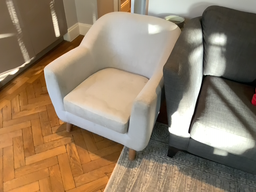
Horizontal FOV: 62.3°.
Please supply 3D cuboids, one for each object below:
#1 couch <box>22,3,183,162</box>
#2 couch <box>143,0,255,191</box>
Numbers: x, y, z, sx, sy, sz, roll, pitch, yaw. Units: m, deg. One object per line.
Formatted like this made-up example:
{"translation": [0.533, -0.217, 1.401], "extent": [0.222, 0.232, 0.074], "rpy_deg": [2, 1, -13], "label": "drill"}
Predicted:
{"translation": [-0.100, -0.160, 1.620], "extent": [0.750, 0.720, 0.830], "rpy_deg": [15, 43, 15], "label": "couch"}
{"translation": [1.300, 0.100, 1.320], "extent": [2.150, 0.790, 1.000], "rpy_deg": [15, 43, 15], "label": "couch"}
